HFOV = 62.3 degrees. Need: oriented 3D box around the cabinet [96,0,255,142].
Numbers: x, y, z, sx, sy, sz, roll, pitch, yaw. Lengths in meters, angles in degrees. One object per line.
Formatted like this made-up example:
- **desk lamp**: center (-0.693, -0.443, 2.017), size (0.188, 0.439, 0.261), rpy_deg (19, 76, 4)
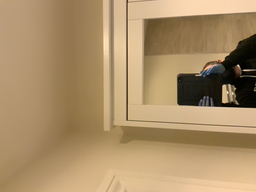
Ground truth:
- **cabinet**: center (0.400, -0.280, 0.630), size (0.160, 0.990, 0.810), rpy_deg (-19, -69, -76)
